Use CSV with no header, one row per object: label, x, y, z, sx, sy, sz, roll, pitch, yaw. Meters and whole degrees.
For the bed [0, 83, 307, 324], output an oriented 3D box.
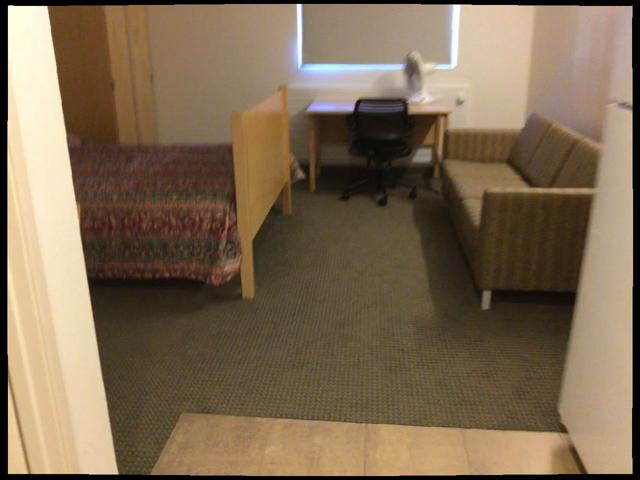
bed,-1.367,-0.381,3.760,2.336,1.022,1.900,0,20,5
